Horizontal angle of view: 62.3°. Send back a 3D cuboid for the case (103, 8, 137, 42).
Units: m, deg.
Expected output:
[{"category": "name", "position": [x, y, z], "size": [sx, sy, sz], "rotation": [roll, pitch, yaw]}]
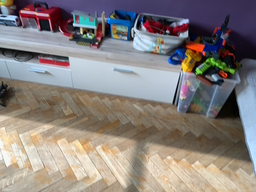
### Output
[{"category": "case", "position": [-0.070, -0.610, 1.820], "size": [0.240, 0.180, 0.220], "rotation": [10, 41, 6]}]
